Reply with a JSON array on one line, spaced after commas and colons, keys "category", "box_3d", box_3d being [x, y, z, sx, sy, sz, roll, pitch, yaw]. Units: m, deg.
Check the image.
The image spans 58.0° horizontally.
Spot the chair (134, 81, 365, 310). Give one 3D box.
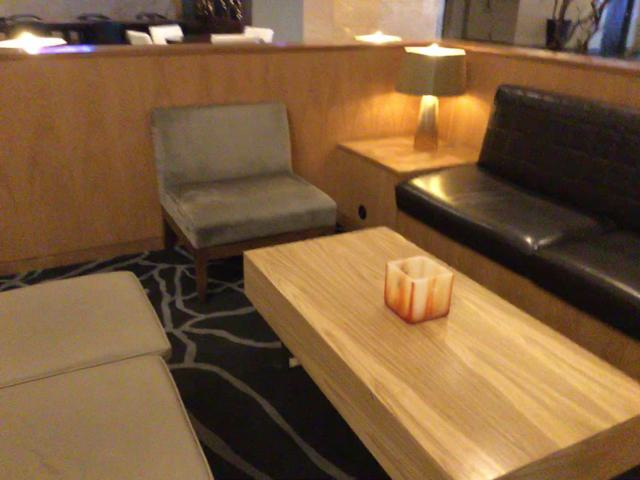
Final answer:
[{"category": "chair", "box_3d": [-0.390, -0.290, 2.900, 0.850, 0.880, 0.800, -8, 24, -27]}]

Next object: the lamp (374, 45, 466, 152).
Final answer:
[{"category": "lamp", "box_3d": [0.540, -0.790, 3.200, 0.290, 0.520, 0.340, -8, 24, -27]}]
